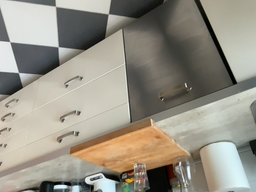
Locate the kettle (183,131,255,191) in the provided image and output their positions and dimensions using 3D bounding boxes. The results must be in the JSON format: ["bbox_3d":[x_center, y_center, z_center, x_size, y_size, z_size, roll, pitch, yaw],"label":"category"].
[{"bbox_3d":[0.490,0.390,1.150,0.230,0.260,0.280,-25,141,25],"label":"kettle"}]
